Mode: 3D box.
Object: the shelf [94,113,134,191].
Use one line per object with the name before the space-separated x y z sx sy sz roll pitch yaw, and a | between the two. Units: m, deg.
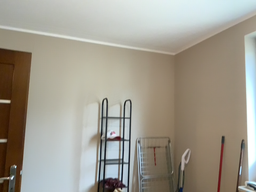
shelf | -0.190 1.010 2.650 0.380 1.570 0.310 4 -6 -22
